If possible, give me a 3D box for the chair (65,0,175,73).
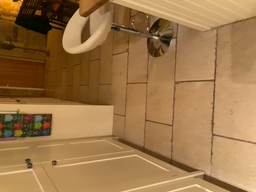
[{"bbox_3d":[-0.070,-0.520,1.890,0.360,0.820,0.410,-53,47,40],"label":"chair"}]
